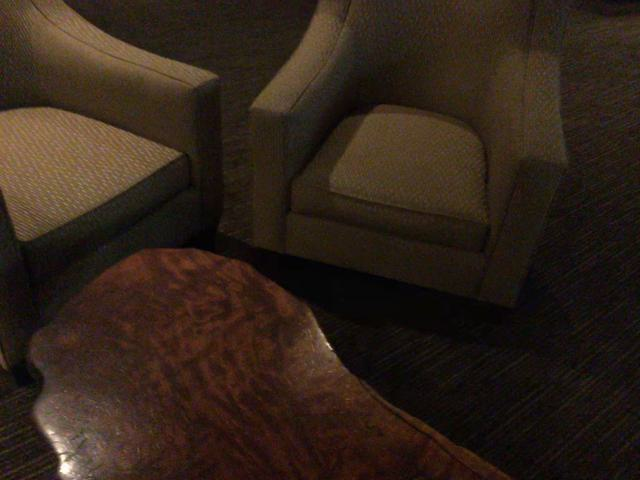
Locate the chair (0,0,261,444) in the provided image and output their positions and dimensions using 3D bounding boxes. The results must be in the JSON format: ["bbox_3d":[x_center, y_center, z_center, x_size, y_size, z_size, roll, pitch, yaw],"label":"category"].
[{"bbox_3d":[-0.880,-0.300,1.620,1.020,0.860,1.030,20,40,20],"label":"chair"}]

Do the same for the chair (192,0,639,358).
[{"bbox_3d":[0.300,-0.390,1.890,1.020,0.880,0.980,12,38,10],"label":"chair"}]
